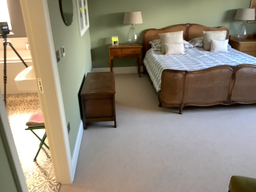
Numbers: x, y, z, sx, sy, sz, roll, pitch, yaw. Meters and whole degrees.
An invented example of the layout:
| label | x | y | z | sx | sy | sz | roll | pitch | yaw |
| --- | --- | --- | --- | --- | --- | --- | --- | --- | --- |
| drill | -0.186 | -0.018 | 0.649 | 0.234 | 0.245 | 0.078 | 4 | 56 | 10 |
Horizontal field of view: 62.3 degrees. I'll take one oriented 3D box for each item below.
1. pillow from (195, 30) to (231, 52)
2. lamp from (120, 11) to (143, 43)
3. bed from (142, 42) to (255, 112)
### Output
| label | x | y | z | sx | sy | sz | roll | pitch | yaw |
| --- | --- | --- | --- | --- | --- | --- | --- | --- | --- |
| pillow | 1.720 | -1.140 | 4.350 | 0.460 | 0.360 | 0.520 | -1 | 24 | -2 |
| lamp | 0.070 | -1.470 | 4.500 | 0.450 | 0.620 | 0.340 | -2 | 24 | -4 |
| bed | 1.350 | -0.510 | 4.060 | 1.870 | 0.600 | 2.170 | -2 | 24 | -3 |
